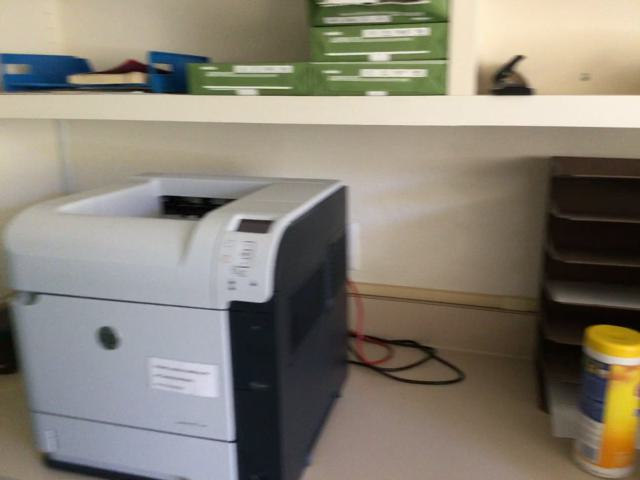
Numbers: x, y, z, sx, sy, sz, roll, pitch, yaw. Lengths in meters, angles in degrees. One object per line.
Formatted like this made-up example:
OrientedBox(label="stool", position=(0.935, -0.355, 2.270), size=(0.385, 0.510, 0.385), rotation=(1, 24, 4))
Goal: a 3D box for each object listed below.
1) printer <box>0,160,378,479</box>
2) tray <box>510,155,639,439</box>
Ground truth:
OrientedBox(label="printer", position=(-0.180, 0.100, 1.030), size=(0.440, 0.410, 0.550), rotation=(6, 14, 16))
OrientedBox(label="tray", position=(0.540, 0.090, 1.060), size=(0.320, 0.450, 0.240), rotation=(6, 14, 16))
